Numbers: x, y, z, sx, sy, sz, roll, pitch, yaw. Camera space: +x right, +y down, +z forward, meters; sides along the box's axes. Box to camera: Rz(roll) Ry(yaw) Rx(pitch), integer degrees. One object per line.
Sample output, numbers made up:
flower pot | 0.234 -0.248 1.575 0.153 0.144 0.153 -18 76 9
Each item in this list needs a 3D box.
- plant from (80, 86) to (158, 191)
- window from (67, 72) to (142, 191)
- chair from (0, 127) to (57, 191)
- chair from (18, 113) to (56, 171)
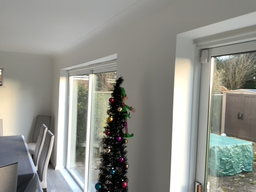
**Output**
plant | -0.100 0.770 1.560 0.400 1.670 0.380 2 2 -30
window | -0.580 0.620 3.520 0.120 1.930 2.520 1 2 -31
chair | -1.350 0.990 2.850 0.630 1.040 0.480 1 2 -30
chair | -1.890 0.920 4.440 0.460 1.030 0.570 3 2 17
